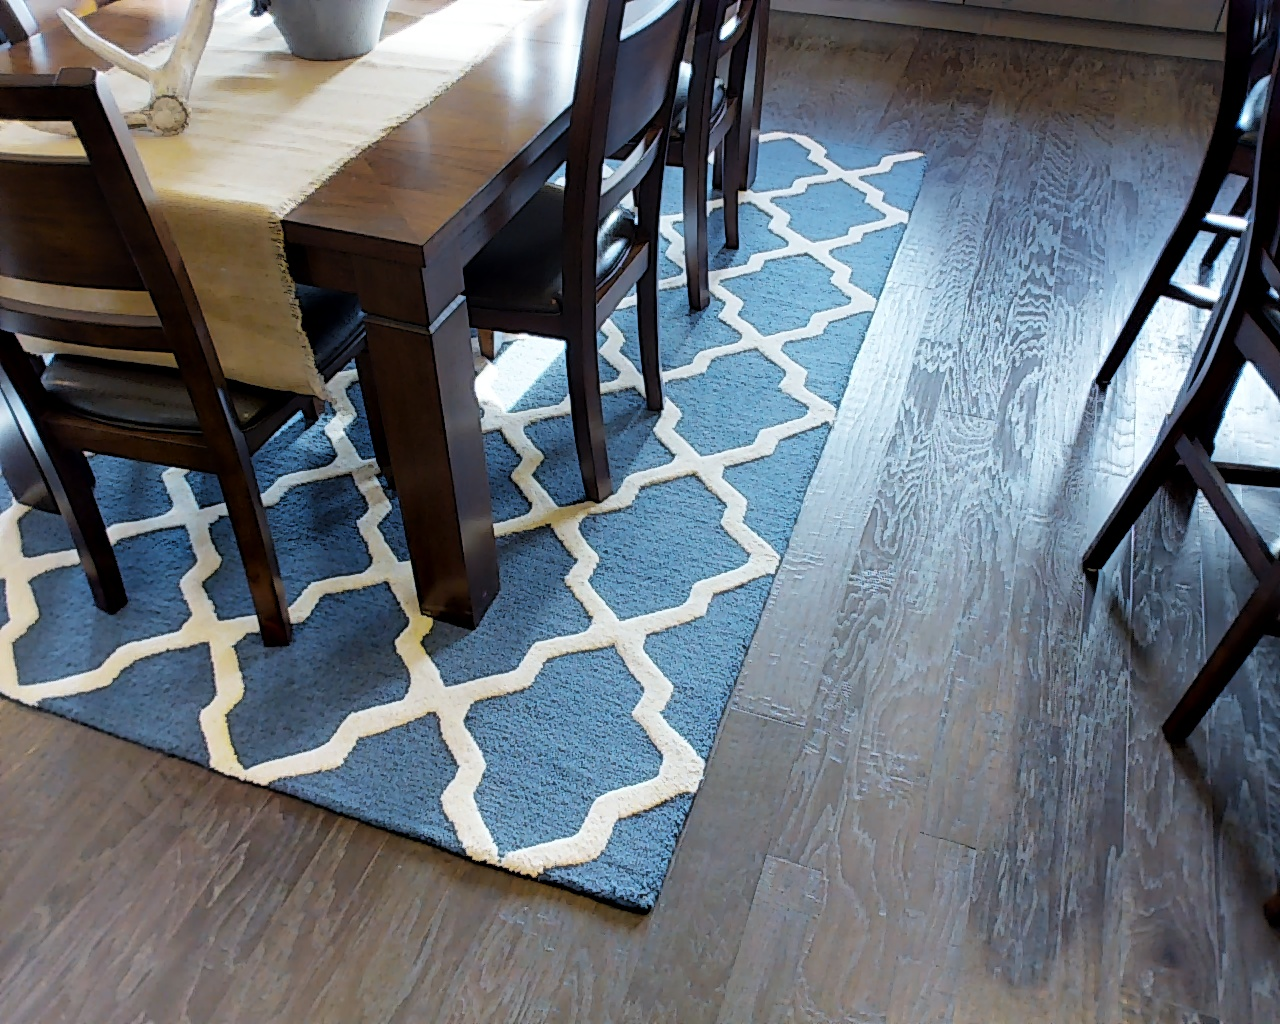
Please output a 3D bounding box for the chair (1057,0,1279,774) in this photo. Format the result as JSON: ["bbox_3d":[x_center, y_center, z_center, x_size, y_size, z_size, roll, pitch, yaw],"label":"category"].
[{"bbox_3d":[1.070,-0.170,1.490,0.570,1.090,0.520,2,42,3],"label":"chair"}]

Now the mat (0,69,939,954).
[{"bbox_3d":[-0.420,-0.500,2.670,1.940,0.040,2.790,13,43,14],"label":"mat"}]

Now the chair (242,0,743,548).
[{"bbox_3d":[-0.200,-0.550,1.980,0.610,0.990,0.580,13,43,14],"label":"chair"}]

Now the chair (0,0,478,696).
[{"bbox_3d":[-0.710,-0.340,1.740,0.550,0.990,0.680,13,43,14],"label":"chair"}]
